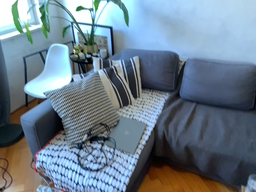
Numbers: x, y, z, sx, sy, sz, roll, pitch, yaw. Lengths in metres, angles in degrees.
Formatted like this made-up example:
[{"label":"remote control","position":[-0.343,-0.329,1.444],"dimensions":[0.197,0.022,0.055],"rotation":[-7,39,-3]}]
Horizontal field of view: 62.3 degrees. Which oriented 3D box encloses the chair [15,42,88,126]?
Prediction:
[{"label":"chair","position":[-0.850,-0.160,2.490],"dimensions":[0.450,0.780,0.500],"rotation":[13,34,22]}]
